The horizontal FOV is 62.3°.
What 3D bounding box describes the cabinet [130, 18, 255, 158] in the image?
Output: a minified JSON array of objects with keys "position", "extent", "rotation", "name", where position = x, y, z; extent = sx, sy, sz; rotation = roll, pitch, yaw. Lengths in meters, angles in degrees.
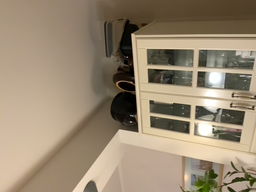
[{"position":[0.490,-0.080,1.240],"extent":[0.400,0.830,0.650],"rotation":[-49,-40,-55],"name":"cabinet"}]
